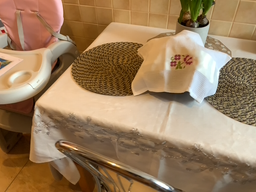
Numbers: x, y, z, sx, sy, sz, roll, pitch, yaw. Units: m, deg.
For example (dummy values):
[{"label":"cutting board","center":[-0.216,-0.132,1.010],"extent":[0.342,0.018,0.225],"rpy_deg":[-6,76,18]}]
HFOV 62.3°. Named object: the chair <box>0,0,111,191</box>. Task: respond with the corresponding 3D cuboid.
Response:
[{"label":"chair","center":[-0.540,-0.090,1.210],"extent":[0.600,0.990,0.690],"rpy_deg":[13,45,15]}]
